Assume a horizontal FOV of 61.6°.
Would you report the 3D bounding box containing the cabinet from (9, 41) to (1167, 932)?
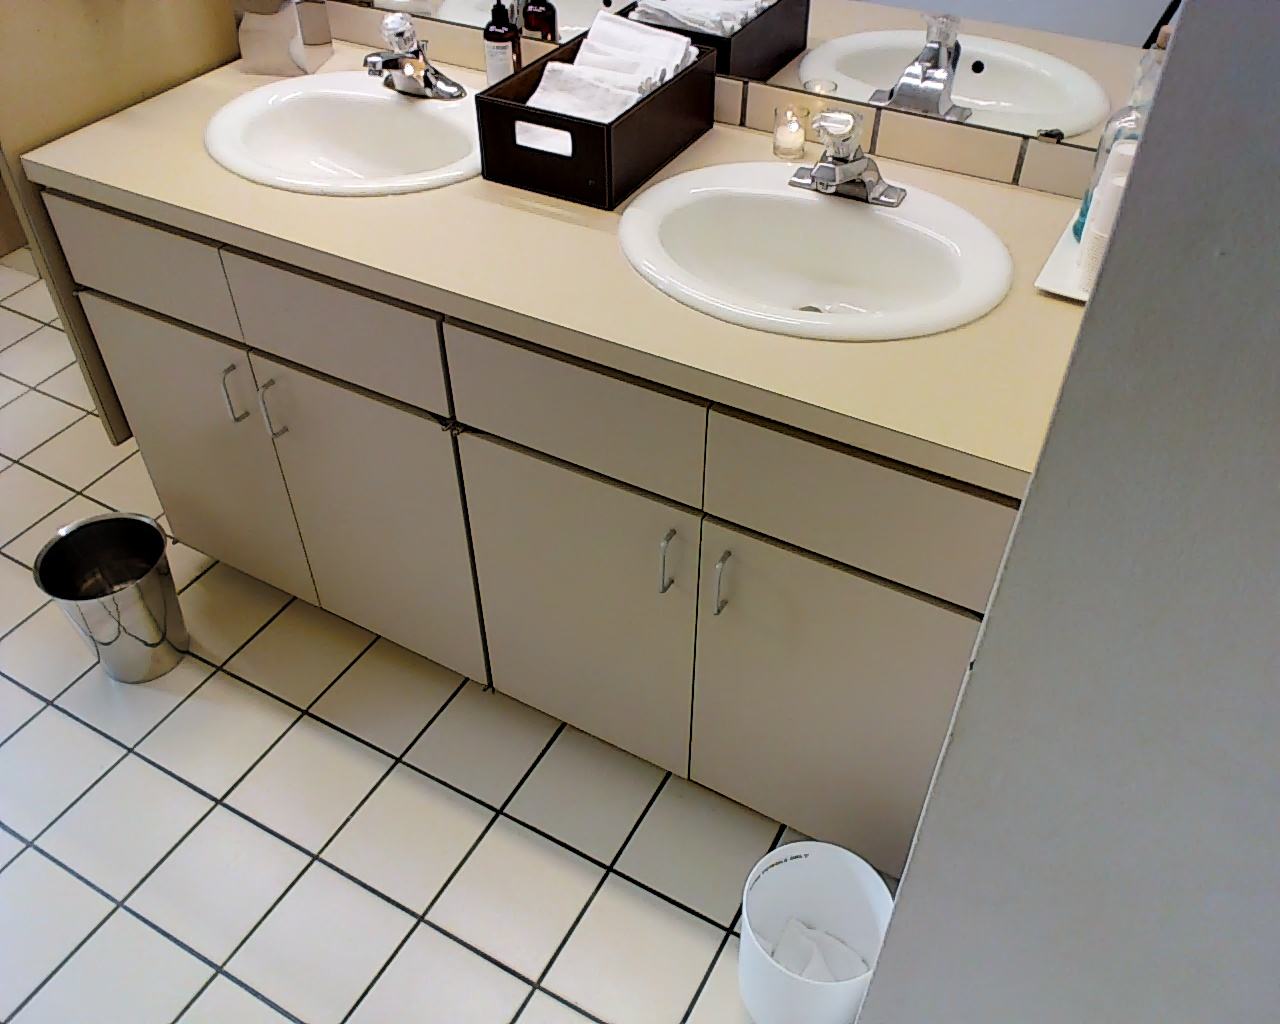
[{"bbox_3d":[-0.110,-0.120,1.830,1.540,0.880,0.640,20,46,21],"label":"cabinet"}]
